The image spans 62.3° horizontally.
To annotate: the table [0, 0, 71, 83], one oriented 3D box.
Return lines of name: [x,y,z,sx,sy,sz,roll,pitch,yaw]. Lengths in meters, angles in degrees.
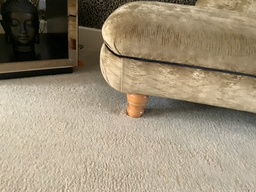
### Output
table: [-0.530,-0.380,0.980,0.410,0.490,0.400,-10,34,-29]
